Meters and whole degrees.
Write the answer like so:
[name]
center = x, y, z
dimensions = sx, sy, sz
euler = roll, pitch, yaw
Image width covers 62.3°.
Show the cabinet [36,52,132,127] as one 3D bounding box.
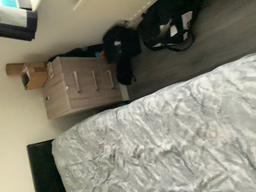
[cabinet]
center = -0.470, -0.060, 2.170
dimensions = 0.660, 0.650, 0.510
euler = -26, 77, 49
